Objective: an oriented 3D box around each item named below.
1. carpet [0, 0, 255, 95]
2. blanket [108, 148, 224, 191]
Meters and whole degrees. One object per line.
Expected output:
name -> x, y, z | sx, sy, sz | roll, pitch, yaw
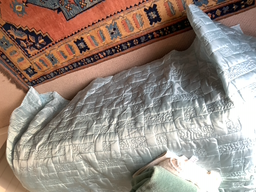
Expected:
carpet -> -0.320, -0.620, 1.130 | 1.840, 0.040, 1.090 | -14, 128, 21
blanket -> 0.220, 0.480, 1.030 | 0.450, 0.140, 0.480 | -14, 128, 21
